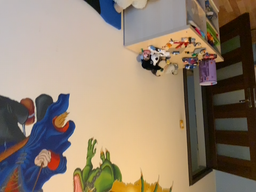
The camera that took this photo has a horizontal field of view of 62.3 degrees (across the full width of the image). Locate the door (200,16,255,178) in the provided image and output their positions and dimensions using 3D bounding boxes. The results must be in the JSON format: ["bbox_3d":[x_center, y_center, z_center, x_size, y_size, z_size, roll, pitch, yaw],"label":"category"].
[{"bbox_3d":[1.330,0.030,2.880,0.070,1.890,0.890,1,173,-17],"label":"door"}]
